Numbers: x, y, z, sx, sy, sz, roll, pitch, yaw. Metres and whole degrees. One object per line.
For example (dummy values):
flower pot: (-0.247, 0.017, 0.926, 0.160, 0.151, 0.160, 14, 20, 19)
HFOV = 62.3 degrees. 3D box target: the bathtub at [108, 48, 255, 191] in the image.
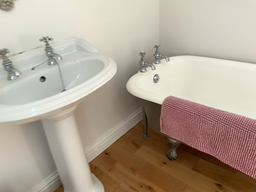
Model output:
bathtub: (0.790, 0.220, 1.240, 1.710, 0.590, 0.750, 19, 37, 36)
